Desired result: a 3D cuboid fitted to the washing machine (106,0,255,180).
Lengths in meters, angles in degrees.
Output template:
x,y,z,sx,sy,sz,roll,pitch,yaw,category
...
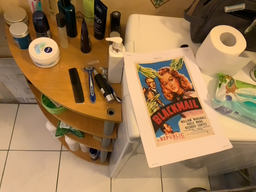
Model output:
x,y,z,sx,sy,sz,roll,pitch,yaw,category
0.290,0.100,0.980,0.730,0.890,0.460,3,64,-7,washing machine
